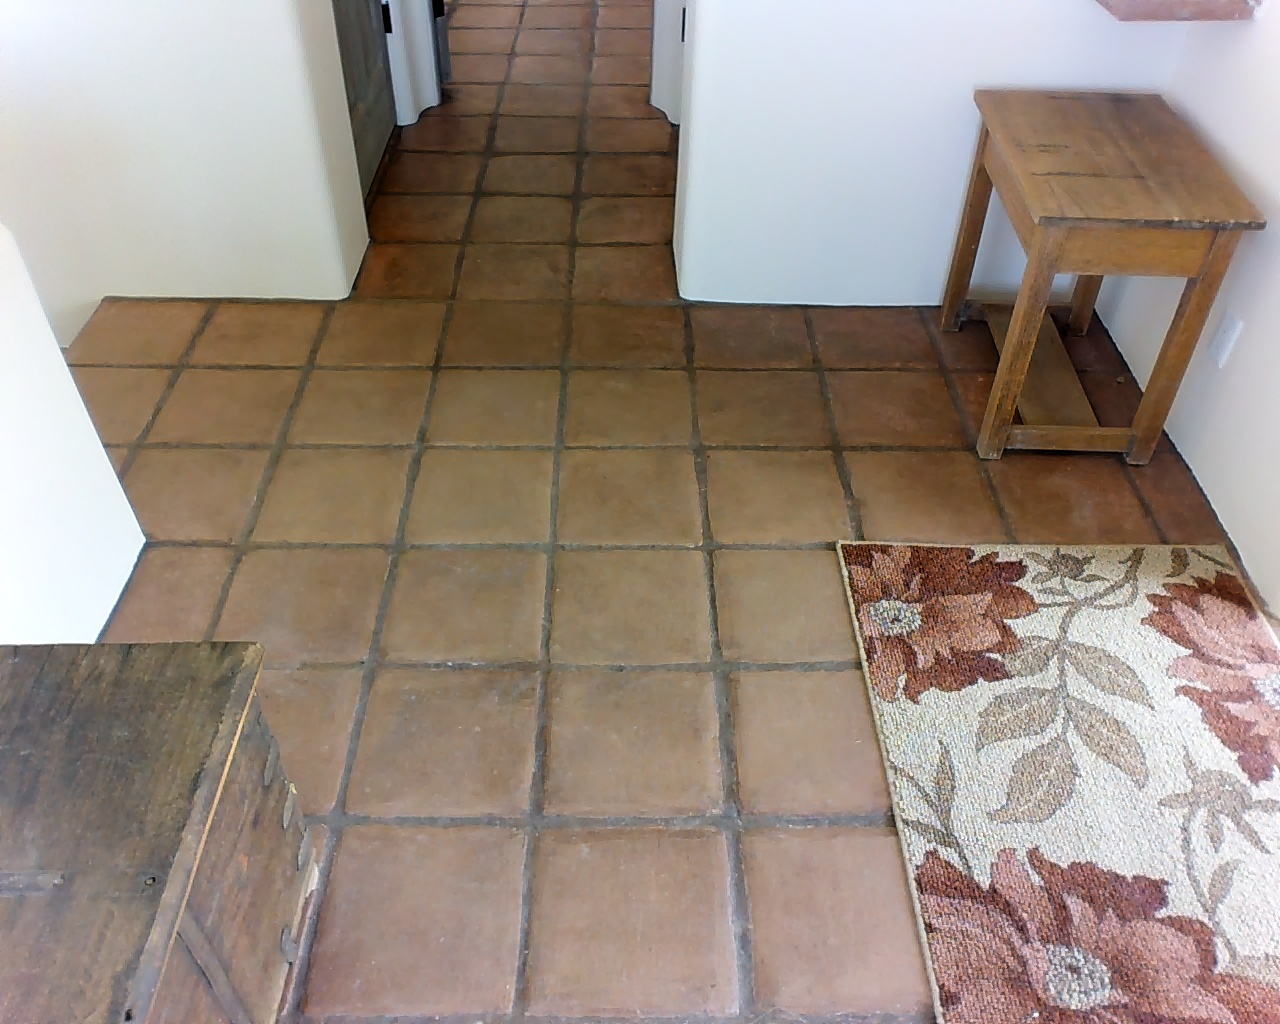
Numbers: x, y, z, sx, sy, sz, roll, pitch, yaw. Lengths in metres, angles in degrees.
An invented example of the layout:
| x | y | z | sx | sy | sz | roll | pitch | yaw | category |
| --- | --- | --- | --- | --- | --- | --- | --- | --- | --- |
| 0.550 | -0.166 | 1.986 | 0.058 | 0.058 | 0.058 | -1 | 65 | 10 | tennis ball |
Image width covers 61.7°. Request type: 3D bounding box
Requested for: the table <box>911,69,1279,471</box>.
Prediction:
| x | y | z | sx | sy | sz | roll | pitch | yaw | category |
| --- | --- | --- | --- | --- | --- | --- | --- | --- | --- |
| 0.960 | -0.540 | 2.350 | 0.490 | 0.600 | 0.680 | 0 | 42 | -1 | table |
